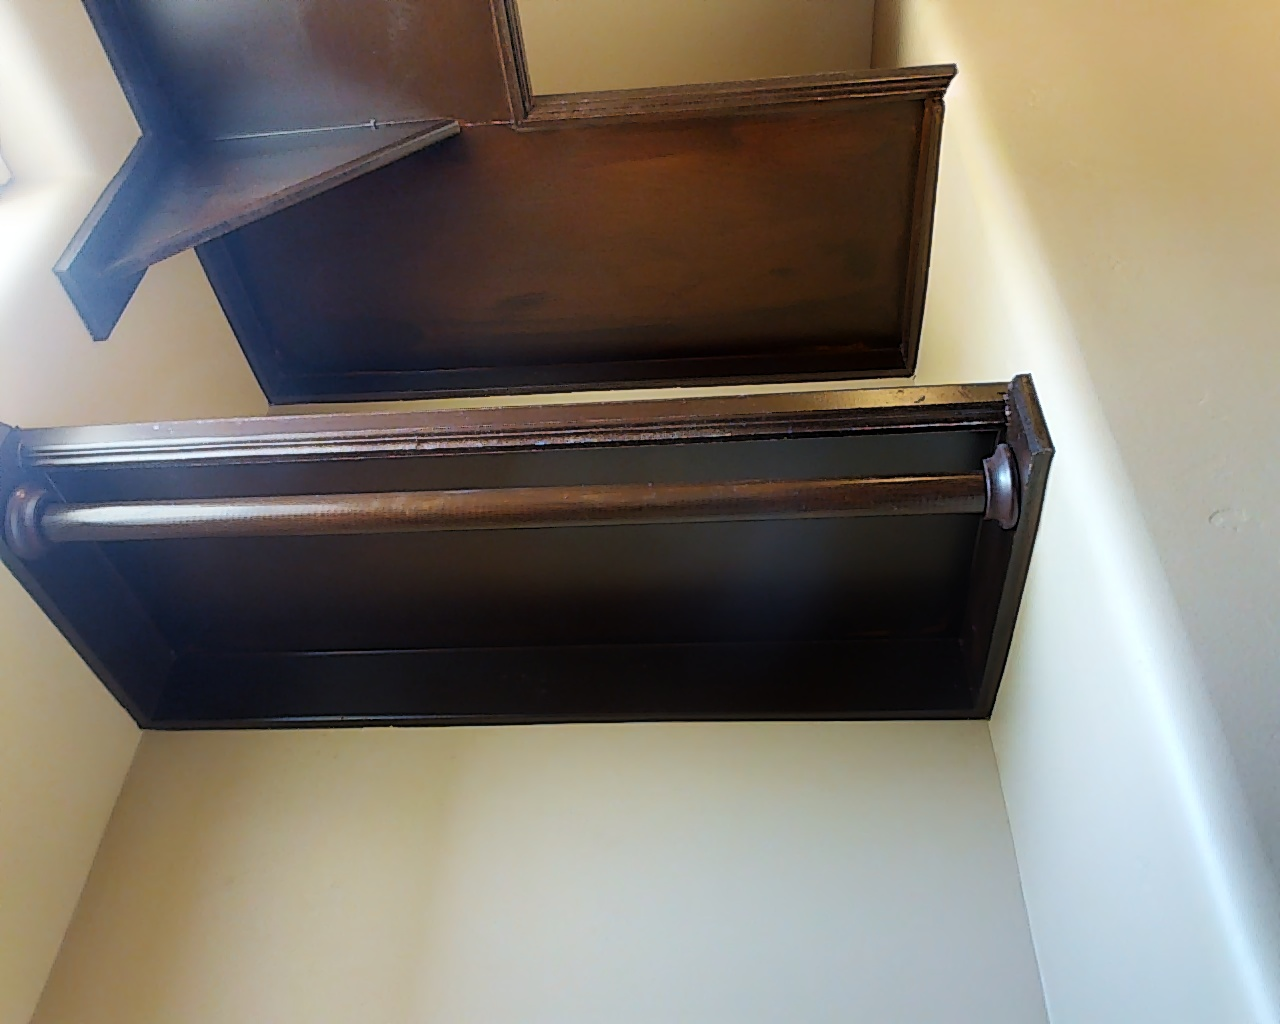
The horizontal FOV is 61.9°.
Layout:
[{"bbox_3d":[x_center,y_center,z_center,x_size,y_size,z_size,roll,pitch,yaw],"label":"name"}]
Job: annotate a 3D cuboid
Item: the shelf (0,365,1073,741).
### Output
[{"bbox_3d":[-0.090,0.060,0.920,0.810,0.100,0.340,-2,-43,7],"label":"shelf"}]
